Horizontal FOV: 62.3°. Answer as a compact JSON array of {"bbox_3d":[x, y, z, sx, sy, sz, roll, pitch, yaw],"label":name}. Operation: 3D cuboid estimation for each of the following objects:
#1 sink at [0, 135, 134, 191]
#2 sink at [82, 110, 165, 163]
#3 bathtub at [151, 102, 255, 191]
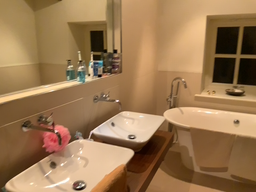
[{"bbox_3d":[-0.290,0.420,1.090,0.450,0.150,0.570,7,15,24],"label":"sink"},{"bbox_3d":[-0.010,0.280,1.680,0.460,0.140,0.540,7,15,24],"label":"sink"},{"bbox_3d":[1.250,0.570,2.540,1.760,0.640,0.810,6,15,23],"label":"bathtub"}]
